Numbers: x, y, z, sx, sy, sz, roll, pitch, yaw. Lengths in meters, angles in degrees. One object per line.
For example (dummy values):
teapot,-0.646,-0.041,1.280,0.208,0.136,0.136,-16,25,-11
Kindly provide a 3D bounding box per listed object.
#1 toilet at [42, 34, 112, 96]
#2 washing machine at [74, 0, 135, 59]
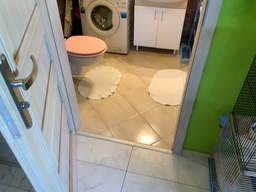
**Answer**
toilet,-0.510,-0.340,2.260,0.570,0.460,0.360,10,41,10
washing machine,-0.270,-1.010,2.730,0.630,0.850,0.460,9,41,10
